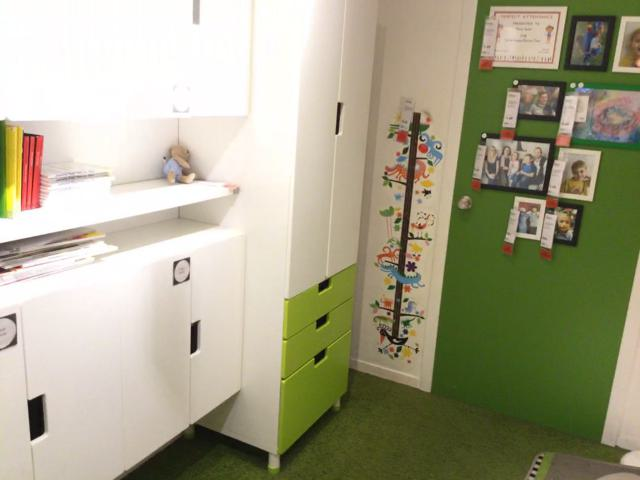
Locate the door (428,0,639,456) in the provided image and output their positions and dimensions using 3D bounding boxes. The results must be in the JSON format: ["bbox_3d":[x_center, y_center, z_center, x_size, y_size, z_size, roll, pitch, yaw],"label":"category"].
[{"bbox_3d":[0.950,-0.080,2.460,0.860,1.860,0.140,10,17,31],"label":"door"}]
